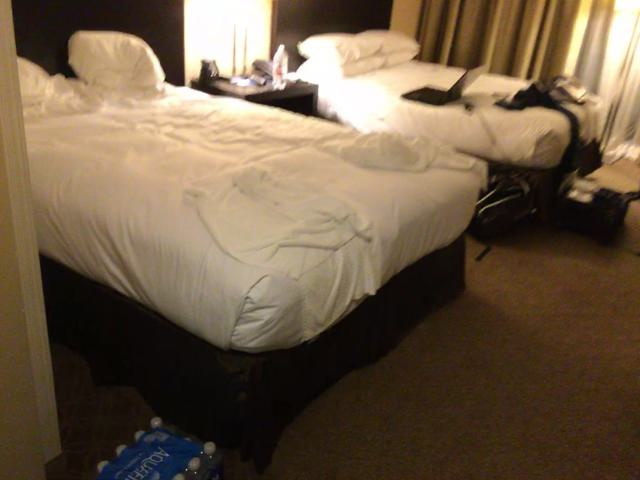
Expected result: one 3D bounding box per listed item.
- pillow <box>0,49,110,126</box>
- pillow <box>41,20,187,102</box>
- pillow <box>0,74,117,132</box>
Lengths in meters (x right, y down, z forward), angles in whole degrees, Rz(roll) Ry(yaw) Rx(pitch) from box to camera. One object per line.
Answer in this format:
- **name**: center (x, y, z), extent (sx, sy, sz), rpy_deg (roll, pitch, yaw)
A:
- **pillow**: center (-1.290, -0.690, 2.550), extent (0.410, 0.210, 0.530), rpy_deg (21, 30, 31)
- **pillow**: center (-1.040, -0.950, 3.010), extent (0.220, 0.330, 0.690), rpy_deg (21, 30, 31)
- **pillow**: center (-1.240, -0.610, 2.530), extent (0.330, 0.120, 0.570), rpy_deg (21, 30, 31)
